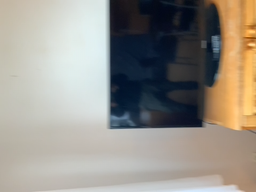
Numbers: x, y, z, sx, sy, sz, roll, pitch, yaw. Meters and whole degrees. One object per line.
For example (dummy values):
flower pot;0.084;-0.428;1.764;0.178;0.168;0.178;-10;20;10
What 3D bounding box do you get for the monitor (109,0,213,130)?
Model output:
monitor;0.210;-0.330;1.350;0.080;0.650;1.070;-166;76;-82
